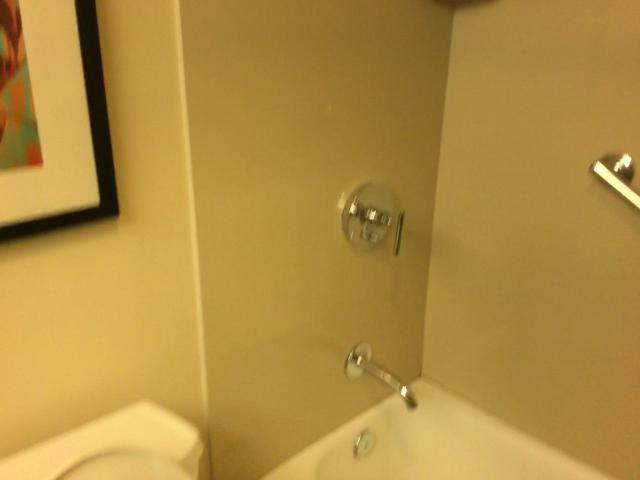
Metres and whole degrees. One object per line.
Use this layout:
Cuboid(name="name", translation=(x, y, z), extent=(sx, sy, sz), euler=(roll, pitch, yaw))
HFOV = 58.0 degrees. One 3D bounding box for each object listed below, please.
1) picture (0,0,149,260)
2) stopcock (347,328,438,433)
Cuboid(name="picture", translation=(-0.470, -0.230, 0.790), extent=(0.430, 0.530, 0.050), euler=(-19, 28, -40))
Cuboid(name="stopcock", translation=(0.210, 0.400, 1.680), extent=(0.240, 0.180, 0.130), euler=(-19, 28, -40))
